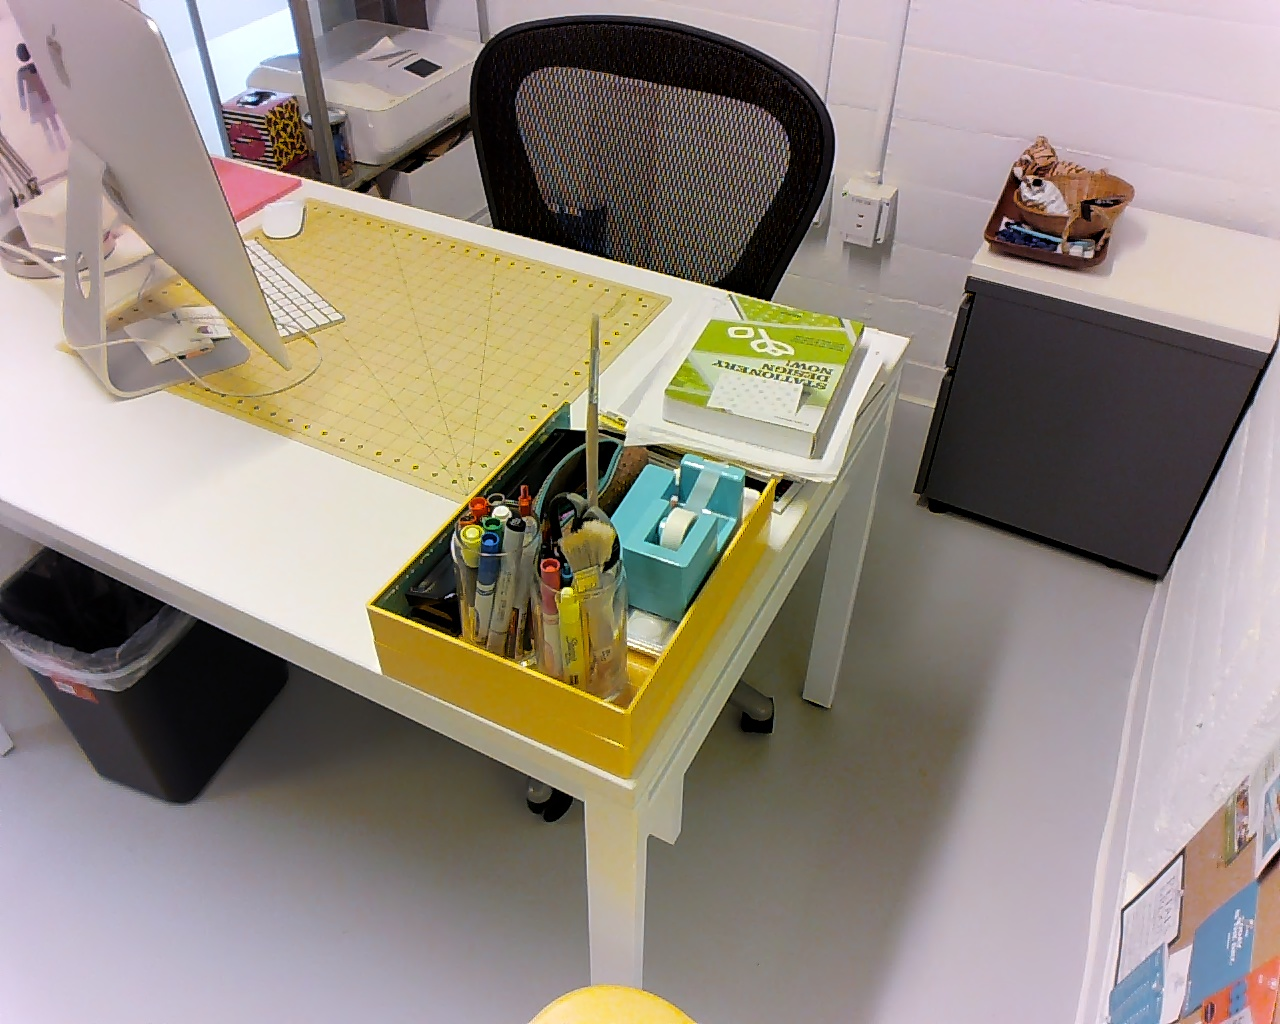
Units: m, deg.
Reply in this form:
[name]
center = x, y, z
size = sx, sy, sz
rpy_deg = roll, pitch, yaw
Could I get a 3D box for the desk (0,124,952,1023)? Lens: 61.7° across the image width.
[desk]
center = -0.380, 0.080, 1.560
size = 1.320, 0.760, 0.870
rpy_deg = 18, 44, 18

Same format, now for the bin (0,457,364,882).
[bin]
center = -0.710, 0.230, 1.620
size = 0.450, 0.420, 0.240
rpy_deg = -31, 50, -31
